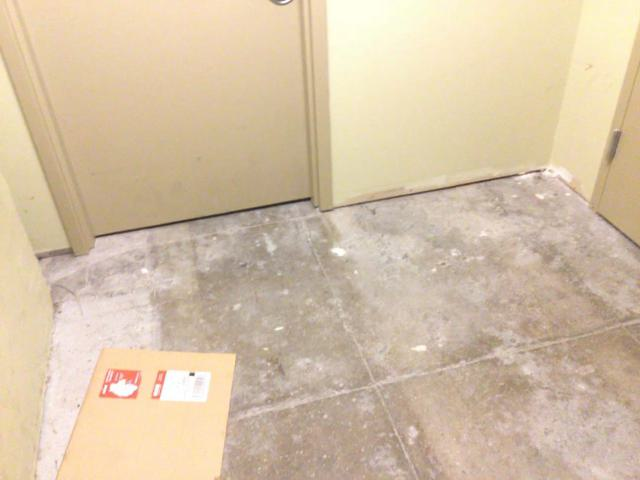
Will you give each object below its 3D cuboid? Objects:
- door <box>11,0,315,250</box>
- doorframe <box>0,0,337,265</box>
[{"bbox_3d":[-0.480,-0.650,1.870,0.840,1.440,0.090,-12,37,-10],"label":"door"},{"bbox_3d":[-0.470,-0.630,1.840,0.990,1.450,0.140,-12,37,-10],"label":"doorframe"}]
